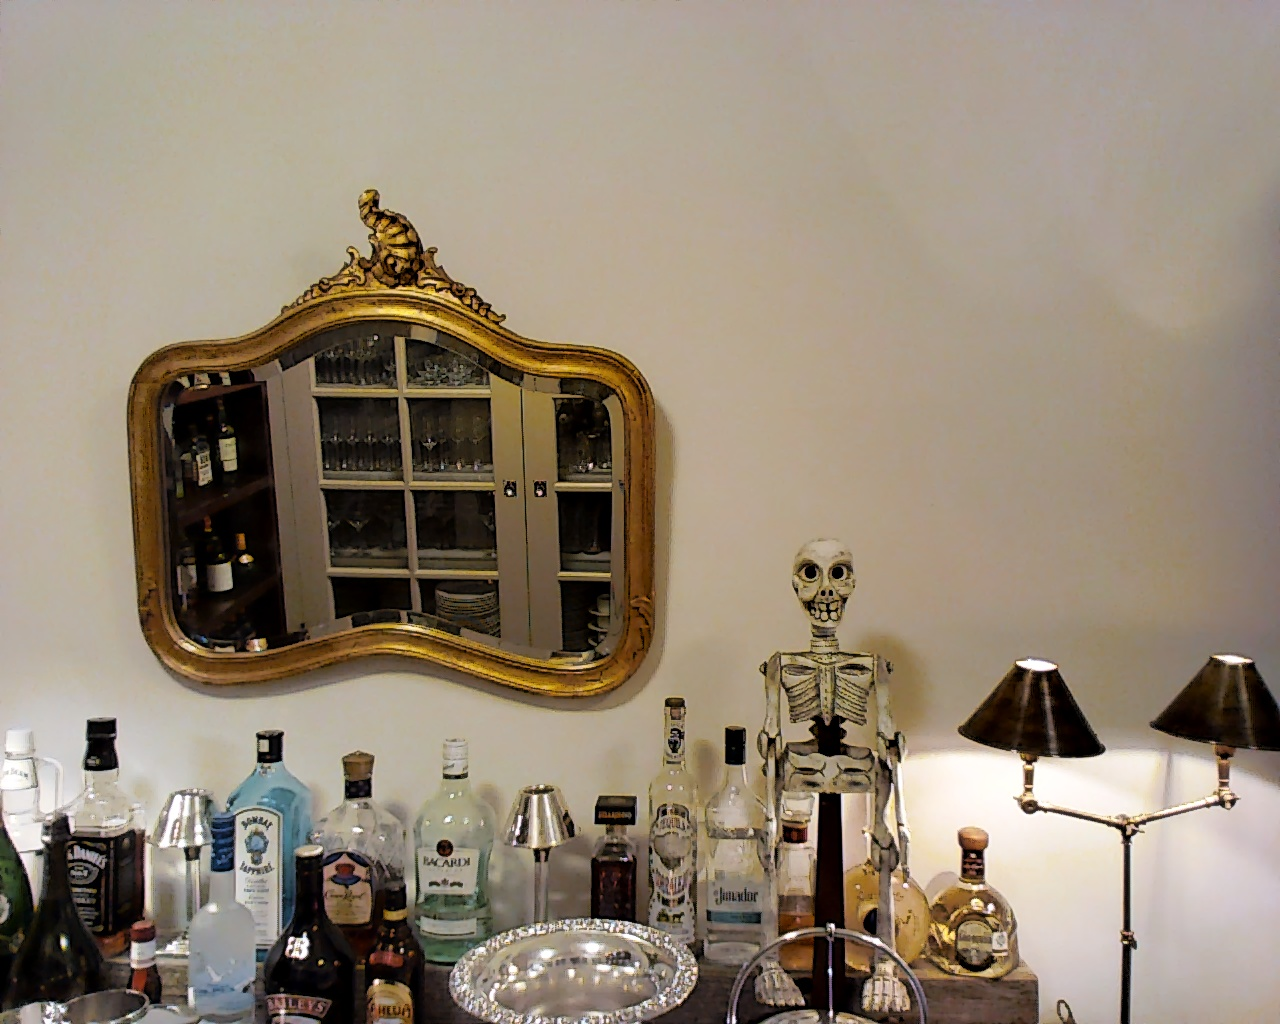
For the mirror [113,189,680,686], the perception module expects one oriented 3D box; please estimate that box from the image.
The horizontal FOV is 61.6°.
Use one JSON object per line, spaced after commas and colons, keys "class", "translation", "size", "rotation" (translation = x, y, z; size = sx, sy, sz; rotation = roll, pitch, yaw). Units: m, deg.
{"class": "mirror", "translation": [-0.360, -0.110, 1.620], "size": [0.830, 0.710, 0.120], "rotation": [1, 0, 4]}
